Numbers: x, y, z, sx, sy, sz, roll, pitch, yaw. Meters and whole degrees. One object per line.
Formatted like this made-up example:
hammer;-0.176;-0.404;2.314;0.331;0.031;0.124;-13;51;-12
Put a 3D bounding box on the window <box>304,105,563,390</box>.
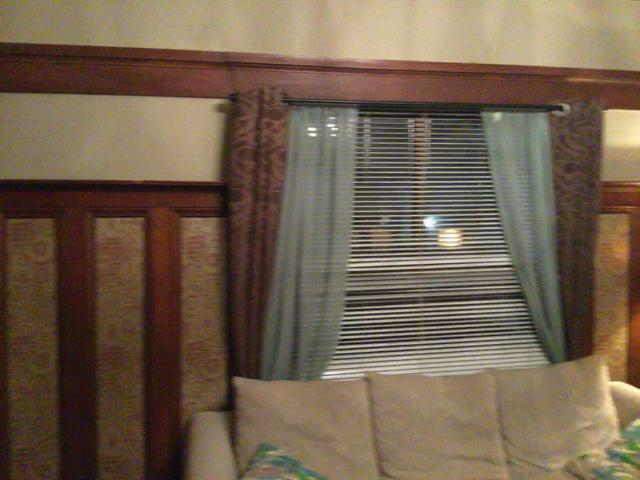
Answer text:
window;0.510;0.010;2.580;1.100;1.190;0.150;-2;-2;-10
